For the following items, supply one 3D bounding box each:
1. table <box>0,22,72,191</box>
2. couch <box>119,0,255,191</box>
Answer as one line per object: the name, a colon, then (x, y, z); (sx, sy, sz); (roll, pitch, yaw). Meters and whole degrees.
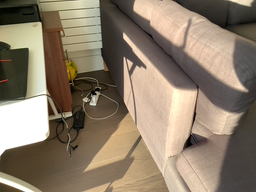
table: (-0.590, 0.170, 1.030); (0.480, 0.730, 0.930); (-10, 38, -15)
couch: (0.520, 0.050, 1.090); (0.850, 0.890, 1.020); (-11, 38, -16)
